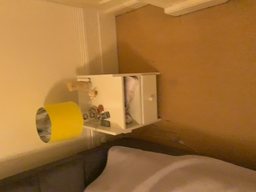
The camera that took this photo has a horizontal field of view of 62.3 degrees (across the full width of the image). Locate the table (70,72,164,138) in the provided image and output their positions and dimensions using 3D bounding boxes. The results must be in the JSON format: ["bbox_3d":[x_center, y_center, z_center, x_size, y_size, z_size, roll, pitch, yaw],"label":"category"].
[{"bbox_3d":[-0.070,0.030,1.460,0.430,0.450,0.350,1,97,45],"label":"table"}]
